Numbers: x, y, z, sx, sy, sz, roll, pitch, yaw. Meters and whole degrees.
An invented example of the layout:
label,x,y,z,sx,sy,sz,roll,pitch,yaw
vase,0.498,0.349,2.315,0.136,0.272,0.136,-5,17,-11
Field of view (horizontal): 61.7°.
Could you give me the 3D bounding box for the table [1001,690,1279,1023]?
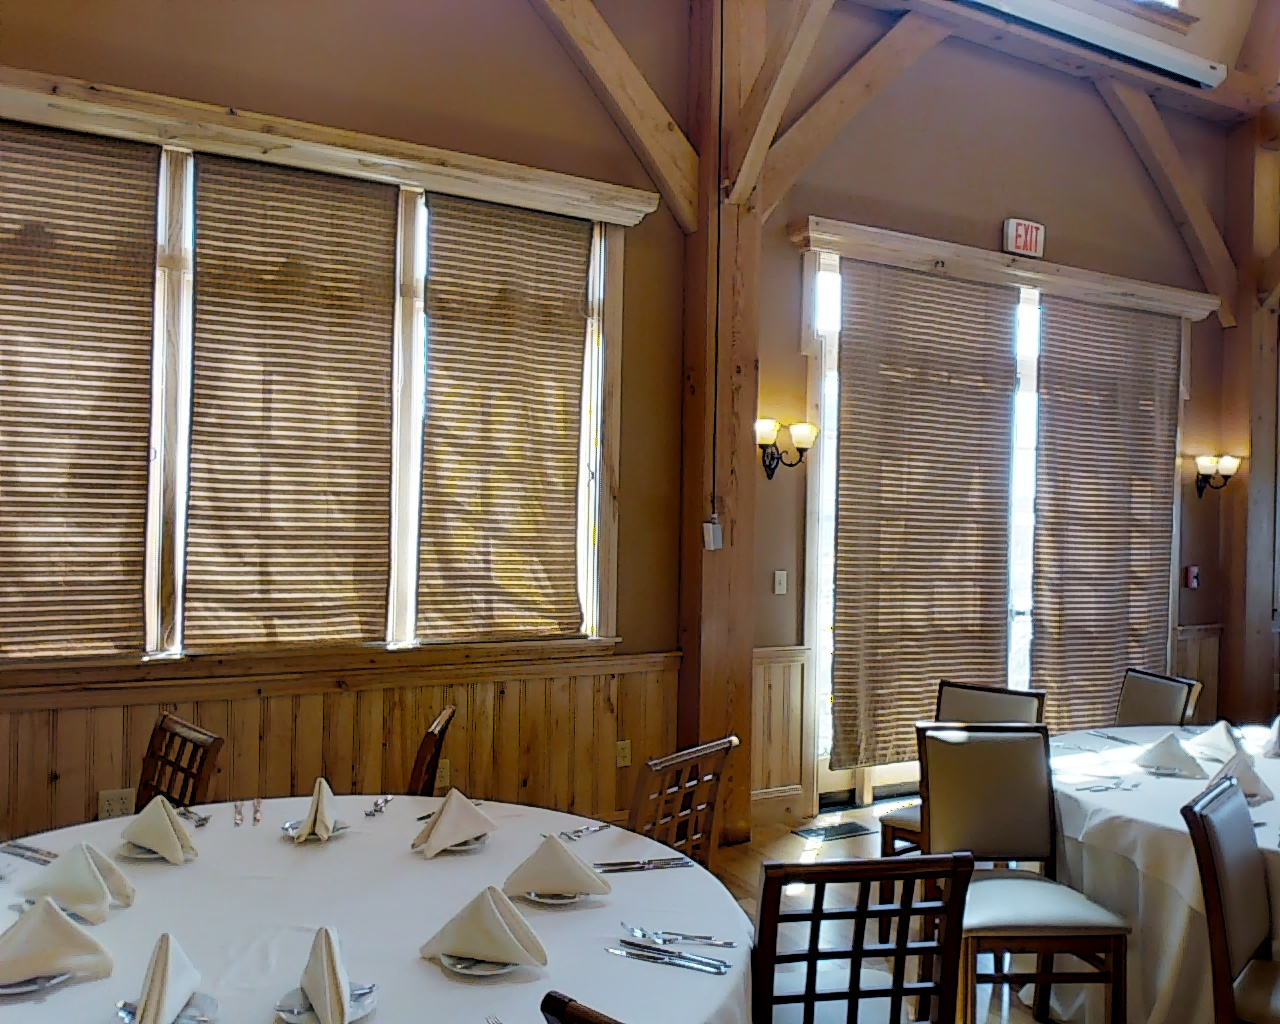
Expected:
label,x,y,z,sx,sy,sz,roll,pitch,yaw
table,2.280,1.190,3.510,1.950,0.760,2.070,1,0,15
